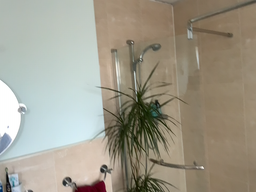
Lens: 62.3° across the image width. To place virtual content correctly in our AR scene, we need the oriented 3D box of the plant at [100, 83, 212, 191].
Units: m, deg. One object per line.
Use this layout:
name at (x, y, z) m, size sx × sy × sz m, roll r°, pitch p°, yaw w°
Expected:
plant at (0.280, 0.660, 1.760) m, size 0.790 × 1.460 × 0.390 m, roll -8°, pitch 5°, yaw -35°
